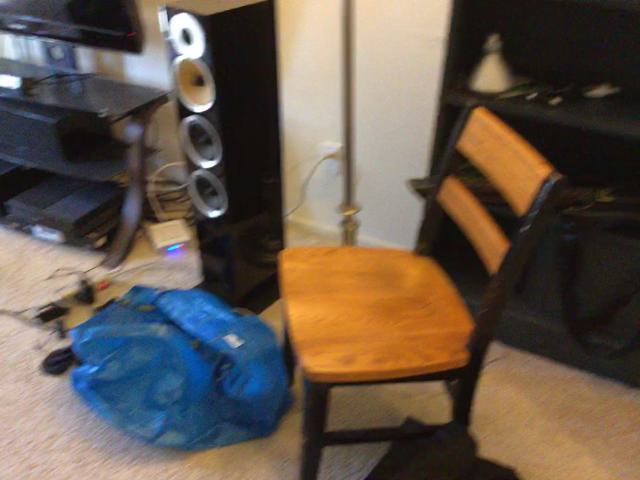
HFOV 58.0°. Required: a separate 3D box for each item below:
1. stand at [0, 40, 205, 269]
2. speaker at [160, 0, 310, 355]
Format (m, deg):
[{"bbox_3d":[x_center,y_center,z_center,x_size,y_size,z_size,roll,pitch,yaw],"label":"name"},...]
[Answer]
[{"bbox_3d":[-1.150,-0.420,2.390,1.210,0.620,0.560,15,27,20],"label":"stand"},{"bbox_3d":[-0.260,-0.180,1.700,0.260,0.960,0.270,14,19,20],"label":"speaker"}]
